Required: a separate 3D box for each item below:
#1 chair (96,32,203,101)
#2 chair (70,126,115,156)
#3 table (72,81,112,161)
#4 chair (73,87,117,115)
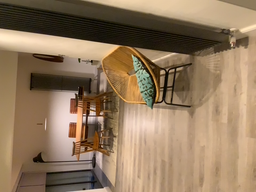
[{"bbox_3d":[0.160,-0.270,2.800,1.410,0.820,0.610,179,95,-69],"label":"chair"},{"bbox_3d":[-0.850,1.030,4.980,0.590,0.900,0.570,177,96,-69],"label":"chair"},{"bbox_3d":[-0.950,0.610,5.510,0.880,0.760,1.860,180,94,-69],"label":"table"},{"bbox_3d":[-0.790,0.120,4.980,0.590,0.900,0.570,-175,89,-69],"label":"chair"}]
